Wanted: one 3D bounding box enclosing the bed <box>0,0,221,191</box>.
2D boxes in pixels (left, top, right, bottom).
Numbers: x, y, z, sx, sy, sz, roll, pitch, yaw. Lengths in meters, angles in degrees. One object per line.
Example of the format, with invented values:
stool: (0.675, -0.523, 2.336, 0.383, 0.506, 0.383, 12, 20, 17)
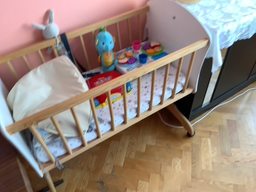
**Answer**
bed: (-0.100, 0.060, 1.280, 0.950, 0.830, 0.550, -27, 51, -20)
